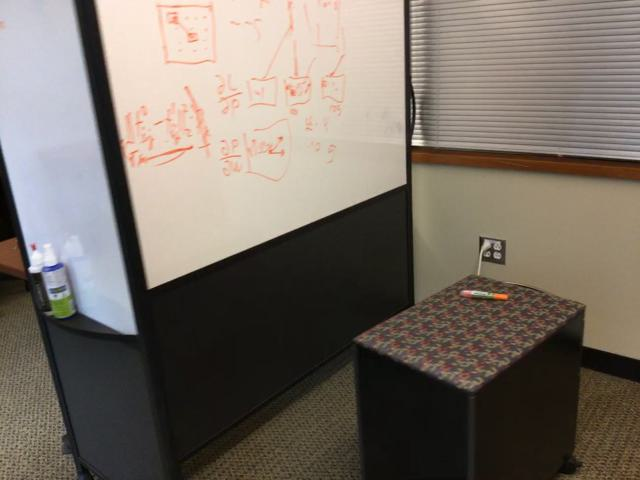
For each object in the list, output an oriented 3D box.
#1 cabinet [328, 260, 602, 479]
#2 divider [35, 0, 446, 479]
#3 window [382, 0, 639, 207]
[{"bbox_3d":[0.420,0.480,1.720,0.640,0.590,0.480,-18,26,-41],"label":"cabinet"},{"bbox_3d":[-0.080,-0.220,1.970,0.180,1.550,1.500,17,26,40],"label":"divider"},{"bbox_3d":[0.890,-0.720,1.860,1.560,1.150,0.150,17,26,40],"label":"window"}]
